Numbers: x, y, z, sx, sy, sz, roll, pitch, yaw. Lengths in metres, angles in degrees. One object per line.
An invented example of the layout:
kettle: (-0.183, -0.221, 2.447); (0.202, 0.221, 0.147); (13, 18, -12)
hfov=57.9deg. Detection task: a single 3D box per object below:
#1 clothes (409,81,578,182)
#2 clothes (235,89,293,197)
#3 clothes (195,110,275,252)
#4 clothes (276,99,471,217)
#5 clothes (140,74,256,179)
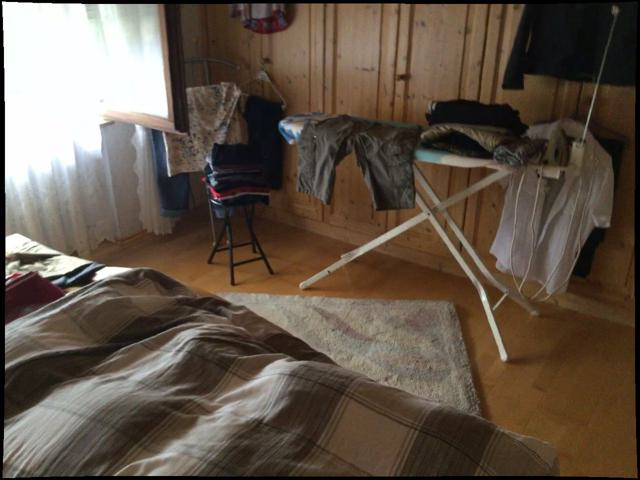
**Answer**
clothes: (0.679, -0.450, 2.290); (0.510, 0.240, 0.390); (17, 32, 33)
clothes: (-0.330, -0.581, 3.460); (0.290, 0.580, 0.140); (17, 32, 33)
clothes: (-0.440, -0.310, 2.980); (0.320, 0.610, 0.370); (-7, 27, -11)
clothes: (0.250, -0.410, 2.660); (0.660, 0.280, 0.600); (17, 32, 33)
clothes: (-0.659, -0.631, 3.170); (0.540, 0.460, 0.230); (-12, 28, -21)
